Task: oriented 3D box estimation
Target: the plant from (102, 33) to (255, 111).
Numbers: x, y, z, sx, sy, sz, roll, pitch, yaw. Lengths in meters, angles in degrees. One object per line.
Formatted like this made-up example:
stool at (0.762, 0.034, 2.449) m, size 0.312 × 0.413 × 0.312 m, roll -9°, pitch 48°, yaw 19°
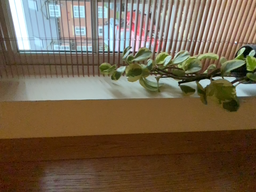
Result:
plant at (0.250, -0.090, 0.780) m, size 0.180 × 0.680 × 0.210 m, roll -104°, pitch 15°, yaw -58°
